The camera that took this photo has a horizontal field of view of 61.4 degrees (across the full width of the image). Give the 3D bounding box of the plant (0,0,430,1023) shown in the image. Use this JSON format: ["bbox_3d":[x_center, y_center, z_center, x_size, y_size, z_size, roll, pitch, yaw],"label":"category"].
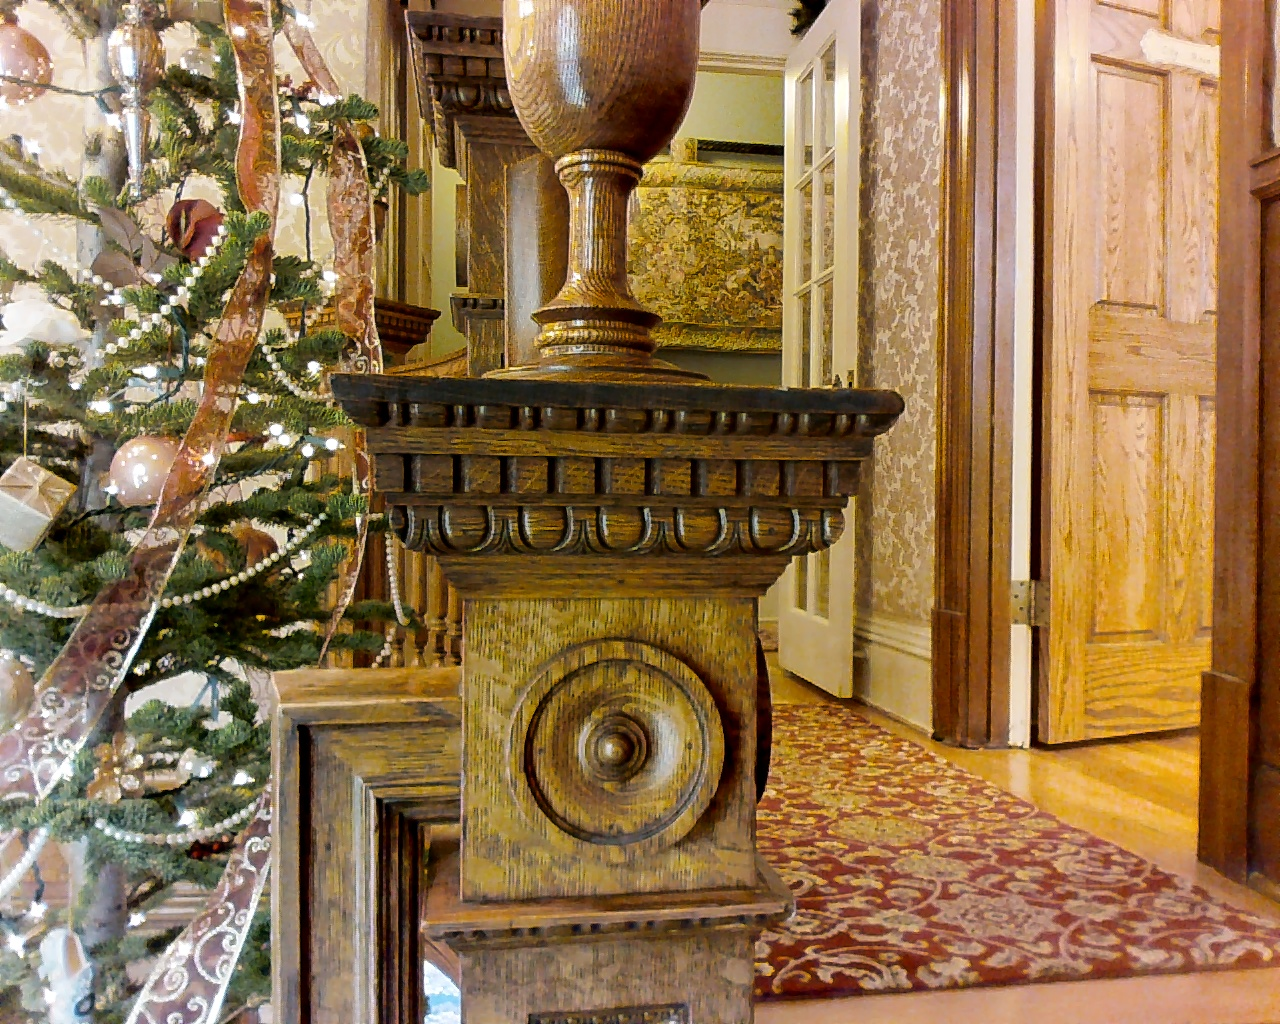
[{"bbox_3d":[-0.460,-0.430,1.120,0.470,2.091,0.820,1,0,-11],"label":"plant"}]

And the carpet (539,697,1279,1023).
[{"bbox_3d":[0.270,0.540,2.080,0.820,0.040,1.820,1,0,-9],"label":"carpet"}]
